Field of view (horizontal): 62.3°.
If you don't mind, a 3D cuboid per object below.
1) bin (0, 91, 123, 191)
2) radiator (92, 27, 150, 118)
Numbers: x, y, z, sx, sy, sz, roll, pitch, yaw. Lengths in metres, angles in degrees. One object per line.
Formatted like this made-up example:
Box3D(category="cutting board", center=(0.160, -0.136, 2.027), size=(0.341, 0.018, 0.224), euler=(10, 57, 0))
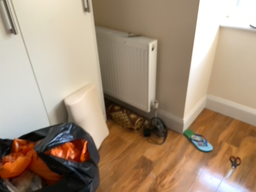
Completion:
Box3D(category="bin", center=(-0.450, 0.460, 1.220), size=(0.450, 0.600, 0.730), euler=(23, 43, 31))
Box3D(category="radiator", center=(-0.060, -0.190, 1.800), size=(0.540, 0.690, 0.040), euler=(23, 42, 31))
